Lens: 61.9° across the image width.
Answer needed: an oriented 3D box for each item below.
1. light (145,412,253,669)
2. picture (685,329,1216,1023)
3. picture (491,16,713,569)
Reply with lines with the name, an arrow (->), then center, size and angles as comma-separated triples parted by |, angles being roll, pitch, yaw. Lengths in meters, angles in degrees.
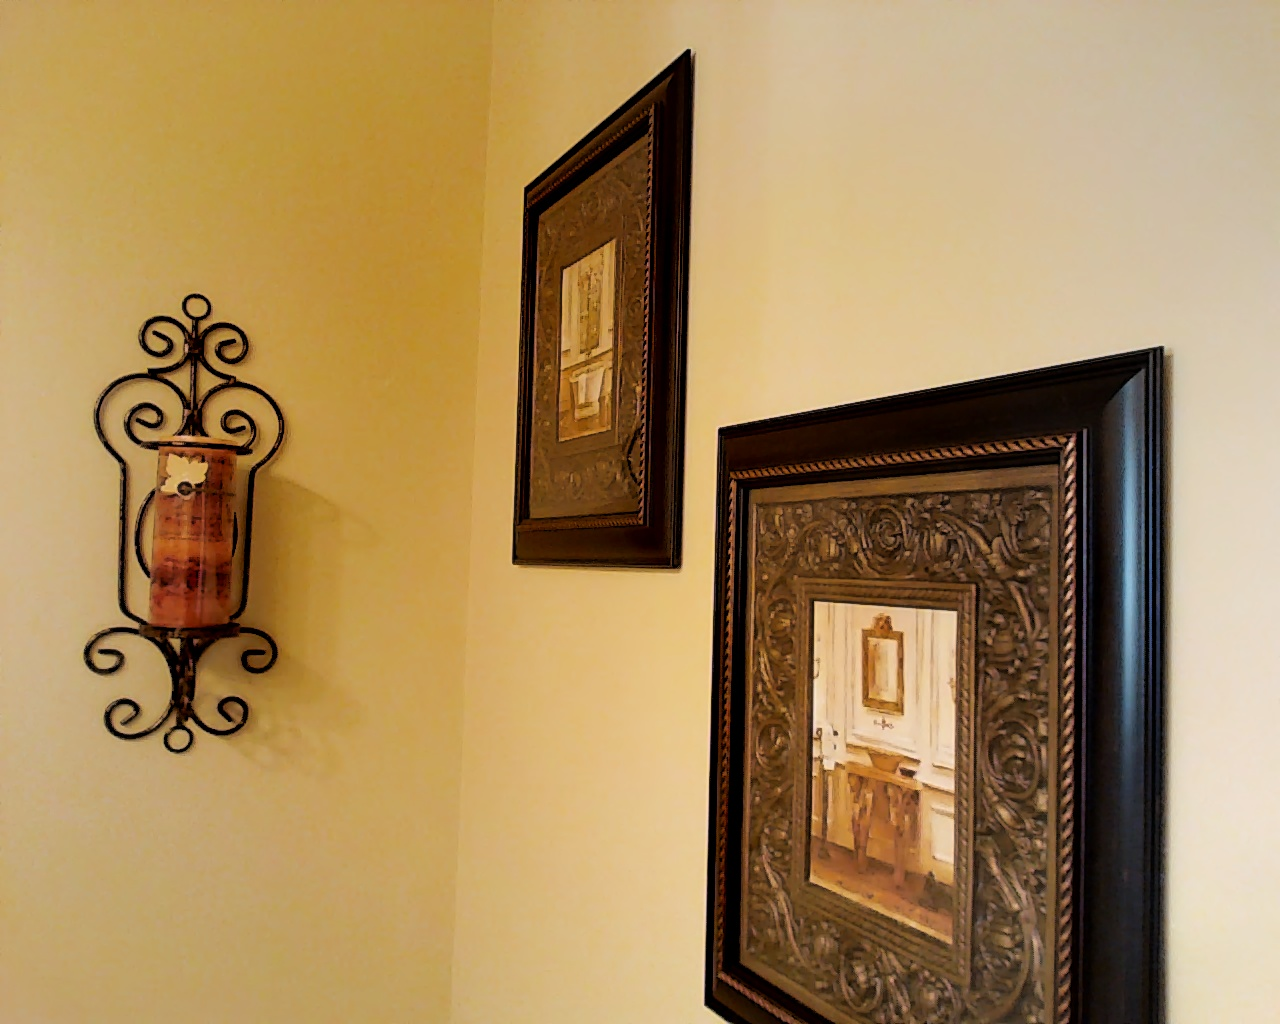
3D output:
light -> -0.460, 0.030, 1.110 | 0.080, 0.250, 0.120 | 3, -2, -28
picture -> 0.140, 0.140, 0.610 | 0.030, 0.430, 0.370 | 3, -2, -28
picture -> -0.050, -0.170, 0.990 | 0.040, 0.430, 0.350 | 3, -2, -28
